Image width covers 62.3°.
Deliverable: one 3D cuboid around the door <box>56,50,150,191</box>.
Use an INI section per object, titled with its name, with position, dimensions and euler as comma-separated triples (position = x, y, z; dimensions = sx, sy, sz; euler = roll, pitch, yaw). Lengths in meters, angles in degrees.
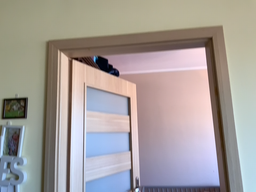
[door]
position = -0.090, 0.850, 1.500
dimensions = 0.070, 2.120, 1.010
euler = -8, -12, 30
